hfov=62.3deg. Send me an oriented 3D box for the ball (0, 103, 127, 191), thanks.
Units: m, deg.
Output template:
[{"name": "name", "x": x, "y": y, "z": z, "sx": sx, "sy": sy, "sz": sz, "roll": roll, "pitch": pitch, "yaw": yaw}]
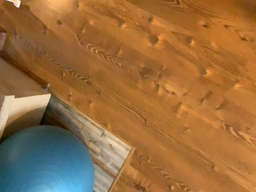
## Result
[{"name": "ball", "x": -0.430, "y": 0.420, "z": 1.100, "sx": 0.470, "sy": 0.540, "sz": 0.530, "roll": 43, "pitch": 109, "yaw": 13}]
